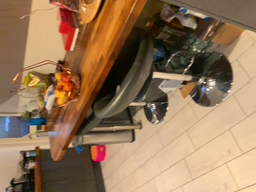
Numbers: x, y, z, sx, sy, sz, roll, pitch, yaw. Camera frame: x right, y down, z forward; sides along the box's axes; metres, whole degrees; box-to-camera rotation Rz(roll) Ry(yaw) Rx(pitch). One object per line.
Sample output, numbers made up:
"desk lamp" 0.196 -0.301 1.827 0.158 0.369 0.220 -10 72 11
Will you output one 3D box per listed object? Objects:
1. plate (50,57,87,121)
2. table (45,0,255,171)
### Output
"plate" -0.410 -0.040 1.420 0.280 0.140 0.310 -57 42 41
"table" -0.050 -0.060 1.780 1.780 0.910 0.650 -54 44 43
